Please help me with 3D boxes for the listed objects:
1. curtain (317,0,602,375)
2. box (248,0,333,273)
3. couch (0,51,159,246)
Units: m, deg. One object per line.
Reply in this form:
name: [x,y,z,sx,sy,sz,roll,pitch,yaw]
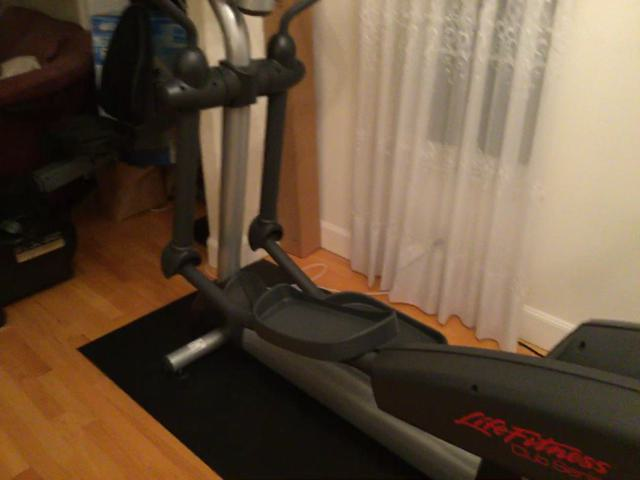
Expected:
curtain: [0.380,-0.590,1.860,0.260,1.920,0.860,-23,34,-38]
box: [-0.110,-0.550,2.360,0.260,1.390,0.190,-22,34,-38]
couch: [-1.630,-0.290,2.280,1.840,0.650,0.510,-23,34,-38]
